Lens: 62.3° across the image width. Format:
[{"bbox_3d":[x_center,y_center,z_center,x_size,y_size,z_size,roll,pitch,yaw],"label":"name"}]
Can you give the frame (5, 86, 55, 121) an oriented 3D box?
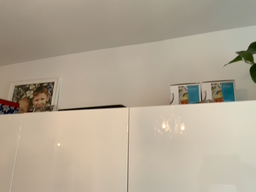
[{"bbox_3d":[-0.750,0.060,1.620,0.370,0.240,0.060,-4,-17,18],"label":"frame"}]
